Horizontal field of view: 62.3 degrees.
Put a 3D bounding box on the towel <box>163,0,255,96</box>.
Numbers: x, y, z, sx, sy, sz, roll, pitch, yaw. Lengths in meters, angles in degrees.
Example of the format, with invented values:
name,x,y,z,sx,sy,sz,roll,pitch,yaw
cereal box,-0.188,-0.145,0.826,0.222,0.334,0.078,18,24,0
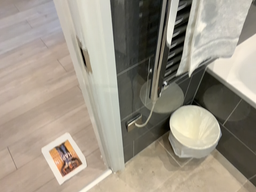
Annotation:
name,x,y,z,sx,sy,sz,roll,pitch,yaw
towel,0.300,-0.310,0.550,0.350,0.610,0.130,-32,60,-20

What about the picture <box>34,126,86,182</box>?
name,x,y,z,sx,sy,sz,roll,pitch,yaw
picture,-0.450,0.370,1.400,0.220,0.020,0.300,-32,60,-21
